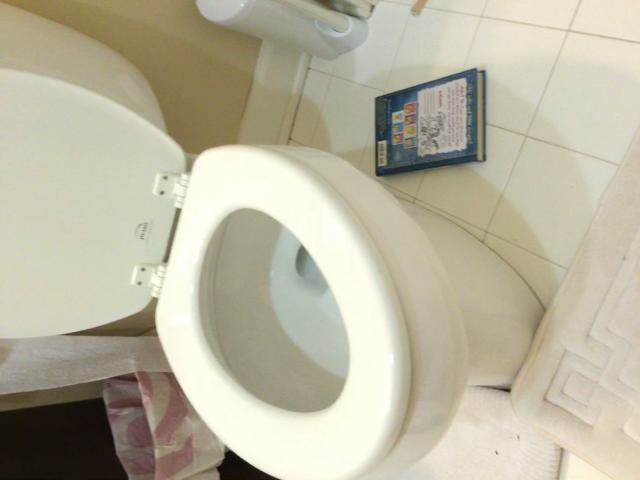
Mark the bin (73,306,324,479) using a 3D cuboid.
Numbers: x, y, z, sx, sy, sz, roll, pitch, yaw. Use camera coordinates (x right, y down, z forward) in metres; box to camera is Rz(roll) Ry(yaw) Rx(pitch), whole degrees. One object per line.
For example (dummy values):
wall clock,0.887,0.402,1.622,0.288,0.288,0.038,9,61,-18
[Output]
bin,-0.250,0.320,1.140,0.320,0.230,0.350,4,20,-42
